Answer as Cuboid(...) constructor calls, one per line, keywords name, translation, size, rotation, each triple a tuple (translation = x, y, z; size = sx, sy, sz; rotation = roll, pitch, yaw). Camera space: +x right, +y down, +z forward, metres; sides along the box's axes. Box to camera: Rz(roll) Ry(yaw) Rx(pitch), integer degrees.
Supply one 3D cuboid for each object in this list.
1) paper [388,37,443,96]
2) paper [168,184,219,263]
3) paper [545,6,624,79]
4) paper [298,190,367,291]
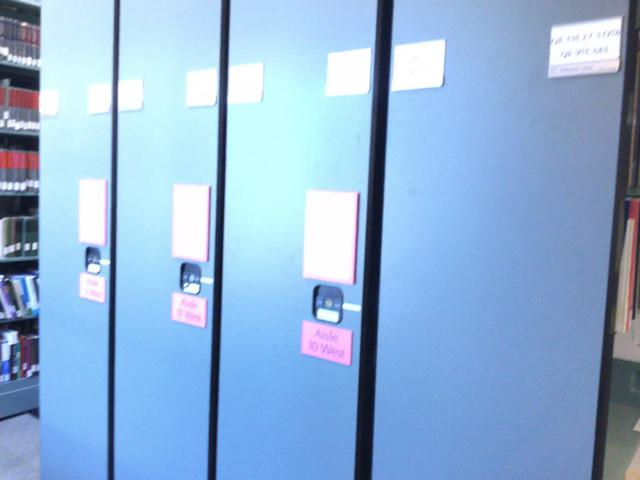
Cuboid(name="paper", translation=(0.220, -0.400, 1.340), size=(0.130, 0.110, 0.020), rotation=(1, 1, 37))
Cuboid(name="paper", translation=(-0.400, -0.050, 1.820), size=(0.200, 0.240, 0.030), rotation=(1, 1, 36))
Cuboid(name="paper", translation=(0.510, -0.380, 1.120), size=(0.140, 0.110, 0.010), rotation=(1, 1, 37))
Cuboid(name="paper", translation=(0.030, 0.000, 1.510), size=(0.200, 0.250, 0.030), rotation=(1, 1, 37))
